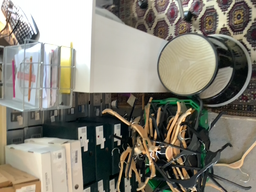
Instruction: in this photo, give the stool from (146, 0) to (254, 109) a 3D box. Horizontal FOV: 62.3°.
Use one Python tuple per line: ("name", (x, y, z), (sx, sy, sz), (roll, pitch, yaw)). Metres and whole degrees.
("stool", (0.370, -0.150, 1.070), (0.400, 0.380, 0.410), (-4, 87, 37))
